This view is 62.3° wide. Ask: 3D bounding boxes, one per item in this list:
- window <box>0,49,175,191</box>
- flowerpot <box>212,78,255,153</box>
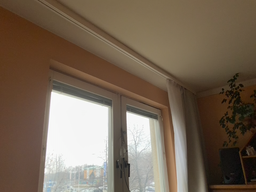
[{"bbox_3d":[-0.090,0.680,1.880,0.140,1.540,1.950,-16,-23,33],"label":"window"},{"bbox_3d":[1.250,0.240,2.440,0.330,0.780,0.260,-17,-24,35],"label":"flowerpot"}]
